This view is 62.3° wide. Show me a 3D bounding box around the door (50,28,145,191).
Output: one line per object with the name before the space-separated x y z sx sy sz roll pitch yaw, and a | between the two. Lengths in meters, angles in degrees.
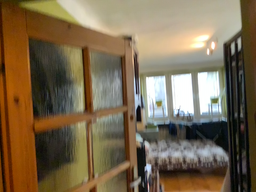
door | -0.110 0.620 1.280 0.110 1.900 0.610 -3 0 37
